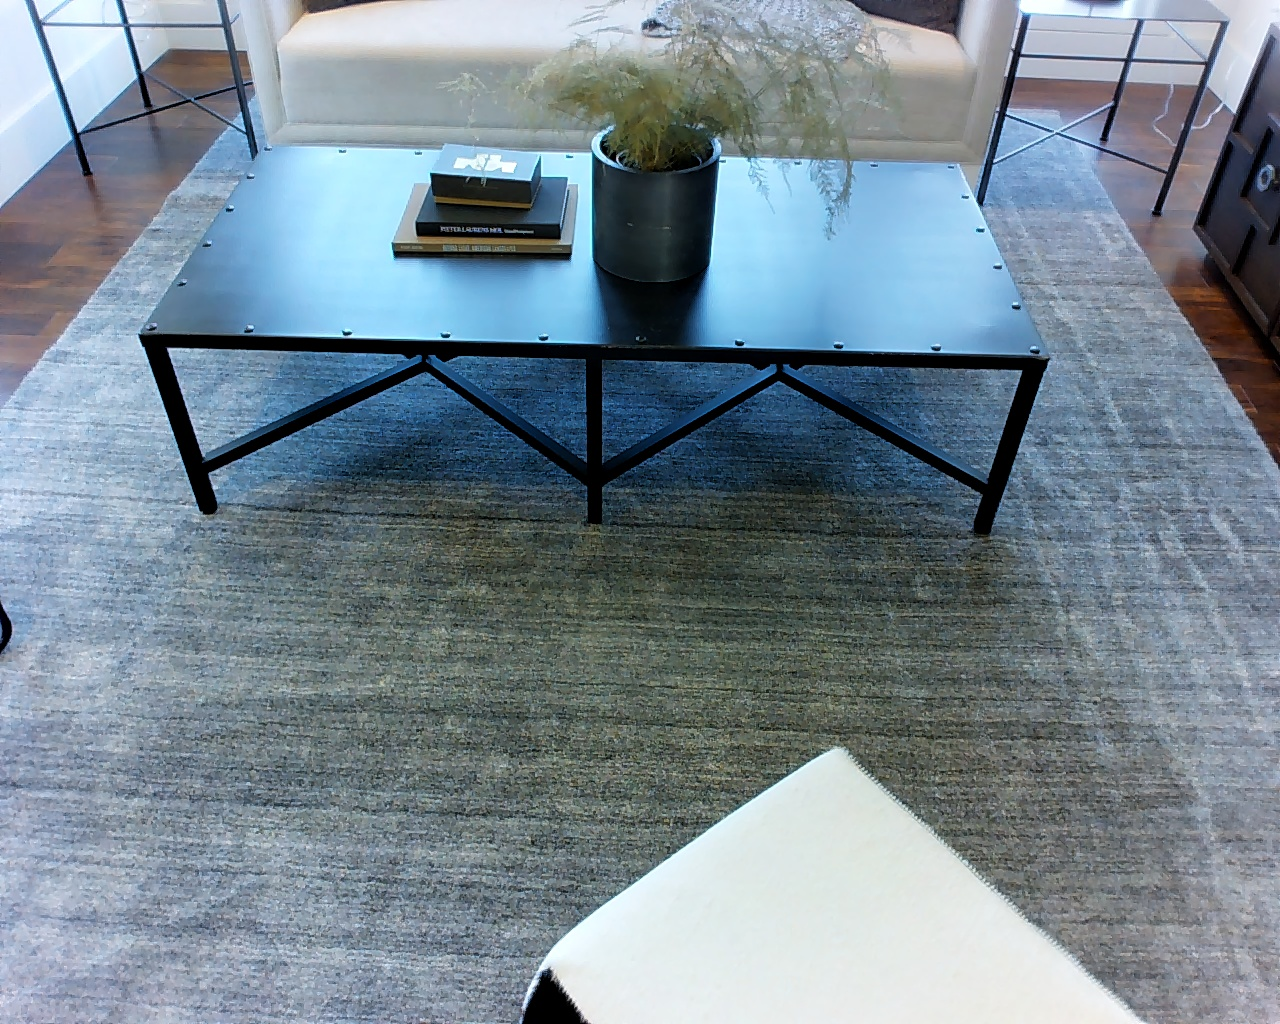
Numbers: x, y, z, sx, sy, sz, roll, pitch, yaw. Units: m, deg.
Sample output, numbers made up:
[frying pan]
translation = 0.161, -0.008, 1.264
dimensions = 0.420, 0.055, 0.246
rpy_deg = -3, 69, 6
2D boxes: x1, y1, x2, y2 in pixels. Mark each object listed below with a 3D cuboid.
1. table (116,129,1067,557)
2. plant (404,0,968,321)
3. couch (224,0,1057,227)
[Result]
[table]
translation = -0.080, -0.430, 2.470
dimensions = 1.740, 0.480, 0.930
rpy_deg = 2, 42, 1
[plant]
translation = 0.080, -0.830, 2.150
dimensions = 0.900, 0.590, 0.660
rpy_deg = 2, 42, 1
[couch]
translation = 0.000, -1.570, 3.440
dimensions = 2.280, 0.870, 0.970
rpy_deg = 2, 42, 1
